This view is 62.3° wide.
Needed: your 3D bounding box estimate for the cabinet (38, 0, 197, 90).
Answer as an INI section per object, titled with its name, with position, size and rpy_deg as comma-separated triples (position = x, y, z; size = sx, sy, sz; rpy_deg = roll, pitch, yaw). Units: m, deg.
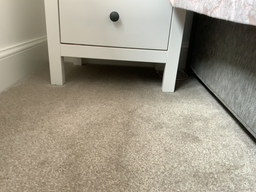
[cabinet]
position = -0.030, -0.420, 0.860
size = 0.510, 0.660, 0.410
rpy_deg = 3, 22, -1
